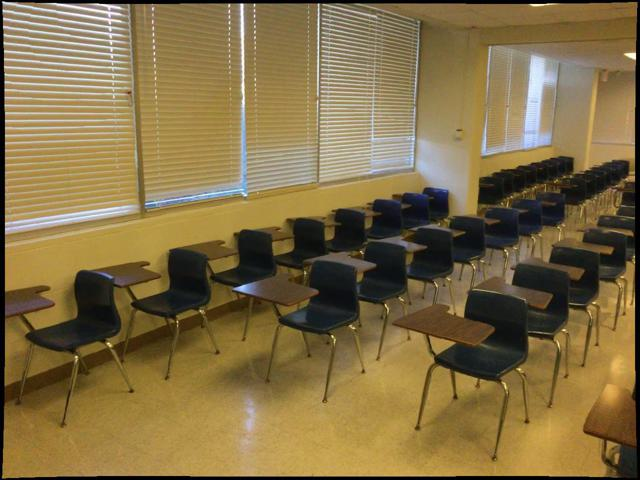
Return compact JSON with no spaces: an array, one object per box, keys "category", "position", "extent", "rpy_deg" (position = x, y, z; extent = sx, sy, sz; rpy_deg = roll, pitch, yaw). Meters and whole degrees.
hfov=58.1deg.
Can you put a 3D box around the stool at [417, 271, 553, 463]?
[{"category":"stool","position":[0.948,0.682,3.300],"extent":[0.479,0.802,0.629],"rpy_deg":[12,18,36]}]

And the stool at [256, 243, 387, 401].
[{"category":"stool","position":[0.020,0.511,3.940],"extent":[0.529,0.772,0.769],"rpy_deg":[11,17,33]}]

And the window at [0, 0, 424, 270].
[{"category":"window","position":[-0.658,-1.243,4.800],"extent":[0.449,1.915,6.366],"rpy_deg":[10,17,31]}]

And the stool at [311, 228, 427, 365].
[{"category":"stool","position":[0.389,0.391,4.470],"extent":[0.529,0.772,0.829],"rpy_deg":[11,17,33]}]
